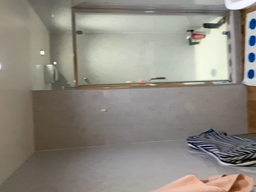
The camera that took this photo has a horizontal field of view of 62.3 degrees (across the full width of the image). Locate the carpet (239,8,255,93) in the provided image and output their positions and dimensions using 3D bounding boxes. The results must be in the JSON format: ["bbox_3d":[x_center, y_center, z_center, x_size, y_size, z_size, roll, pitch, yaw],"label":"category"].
[{"bbox_3d":[1.410,-0.500,2.260,0.550,0.030,0.900,169,99,-80],"label":"carpet"}]
